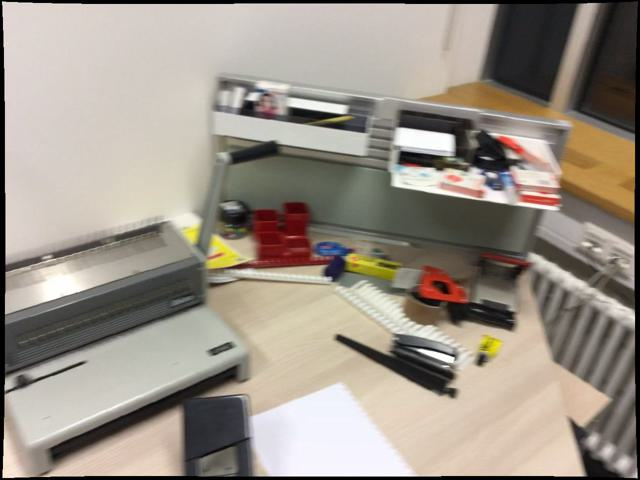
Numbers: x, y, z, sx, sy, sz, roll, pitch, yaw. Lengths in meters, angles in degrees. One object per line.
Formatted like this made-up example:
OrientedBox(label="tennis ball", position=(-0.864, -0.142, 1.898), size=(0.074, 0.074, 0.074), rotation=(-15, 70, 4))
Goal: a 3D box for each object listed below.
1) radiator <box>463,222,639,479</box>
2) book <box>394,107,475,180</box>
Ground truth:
OrientedBox(label="radiator", position=(1.029, 0.561, 1.530), size=(0.240, 0.650, 1.270), rotation=(-22, 44, -35))
OrientedBox(label="book", position=(0.240, -0.210, 1.240), size=(0.150, 0.060, 0.190), rotation=(8, 35, 1))
